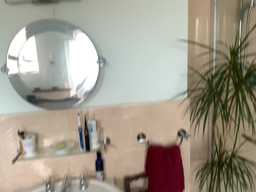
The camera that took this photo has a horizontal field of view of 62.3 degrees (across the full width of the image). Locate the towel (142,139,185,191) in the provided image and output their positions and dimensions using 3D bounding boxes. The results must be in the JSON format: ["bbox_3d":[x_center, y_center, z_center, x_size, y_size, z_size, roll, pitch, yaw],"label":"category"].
[{"bbox_3d":[0.230,0.500,1.410,0.240,0.360,0.170,-4,13,-3],"label":"towel"}]

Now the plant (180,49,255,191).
[{"bbox_3d":[0.710,0.440,1.460,0.580,1.460,0.440,-4,13,-1],"label":"plant"}]
